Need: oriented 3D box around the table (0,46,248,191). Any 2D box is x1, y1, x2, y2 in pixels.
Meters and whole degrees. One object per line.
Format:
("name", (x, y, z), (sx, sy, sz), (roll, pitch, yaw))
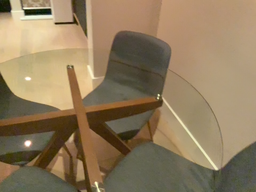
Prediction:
("table", (-0.200, 0.310, 1.220), (0.950, 0.770, 0.980), (-8, 39, -17))
